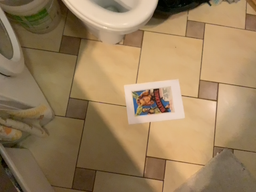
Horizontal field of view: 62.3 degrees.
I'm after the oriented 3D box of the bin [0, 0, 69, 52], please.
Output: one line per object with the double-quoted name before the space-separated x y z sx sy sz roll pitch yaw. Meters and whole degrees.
"bin" -0.510 -0.450 1.040 0.250 0.320 0.270 -33 83 -6
